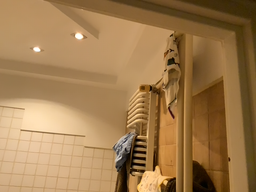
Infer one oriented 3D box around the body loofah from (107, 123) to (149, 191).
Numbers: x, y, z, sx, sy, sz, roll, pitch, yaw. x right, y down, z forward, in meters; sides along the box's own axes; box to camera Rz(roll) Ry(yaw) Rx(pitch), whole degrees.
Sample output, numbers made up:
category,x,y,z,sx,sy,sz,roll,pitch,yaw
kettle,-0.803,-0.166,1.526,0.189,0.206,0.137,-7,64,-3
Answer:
category,x,y,z,sx,sy,sz,roll,pitch,yaw
body loofah,-0.020,0.530,1.380,0.170,0.640,0.380,8,-17,-9
